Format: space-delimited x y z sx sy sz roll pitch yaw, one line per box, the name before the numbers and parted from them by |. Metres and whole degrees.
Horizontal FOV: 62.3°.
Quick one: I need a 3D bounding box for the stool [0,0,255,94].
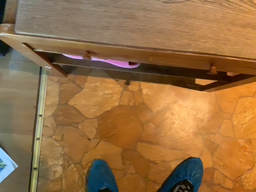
stool | 0.040 -0.280 0.730 0.750 0.540 0.400 7 84 -3
